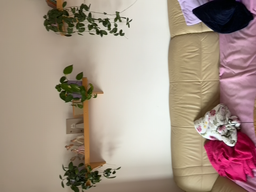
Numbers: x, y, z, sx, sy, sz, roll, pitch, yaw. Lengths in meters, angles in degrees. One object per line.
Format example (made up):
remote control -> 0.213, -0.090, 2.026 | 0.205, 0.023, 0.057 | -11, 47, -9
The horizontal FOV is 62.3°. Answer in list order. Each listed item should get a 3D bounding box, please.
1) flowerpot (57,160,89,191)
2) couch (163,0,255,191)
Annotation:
flowerpot -> -0.520, 0.770, 2.050 | 0.200, 0.270, 0.220 | -155, 63, -82
couch -> 0.880, -0.180, 1.960 | 0.820, 0.820, 2.480 | 179, 88, -83
